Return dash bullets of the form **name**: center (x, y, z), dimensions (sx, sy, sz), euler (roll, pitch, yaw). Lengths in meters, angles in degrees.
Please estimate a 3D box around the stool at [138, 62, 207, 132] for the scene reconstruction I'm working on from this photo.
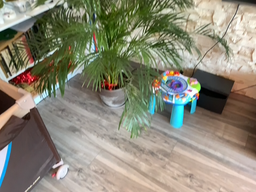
- **stool**: center (0.390, -0.010, 1.920), dimensions (0.440, 0.300, 0.430), euler (25, 49, 26)

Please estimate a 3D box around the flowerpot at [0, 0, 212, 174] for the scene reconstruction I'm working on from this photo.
- **flowerpot**: center (-0.150, -0.340, 1.870), dimensions (1.200, 1.090, 1.130), euler (25, 49, 26)

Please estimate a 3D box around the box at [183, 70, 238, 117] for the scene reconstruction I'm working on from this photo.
- **box**: center (0.760, -0.030, 1.980), dimensions (0.380, 0.210, 0.250), euler (24, 49, 25)
